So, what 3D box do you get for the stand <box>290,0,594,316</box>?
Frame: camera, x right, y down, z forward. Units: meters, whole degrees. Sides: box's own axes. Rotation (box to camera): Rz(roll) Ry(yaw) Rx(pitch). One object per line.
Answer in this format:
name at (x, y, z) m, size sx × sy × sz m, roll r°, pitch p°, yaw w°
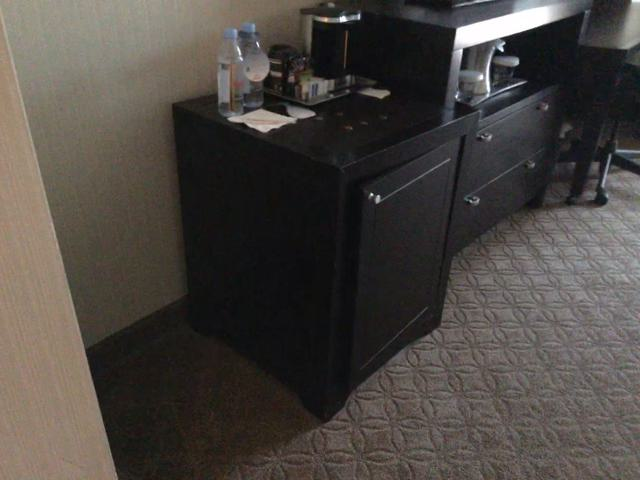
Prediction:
stand at (0.510, -0.460, 2.290) m, size 0.490 × 0.990 × 1.190 m, roll 24°, pitch 38°, yaw 39°
